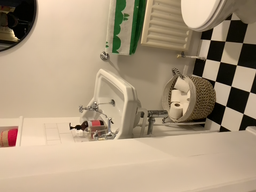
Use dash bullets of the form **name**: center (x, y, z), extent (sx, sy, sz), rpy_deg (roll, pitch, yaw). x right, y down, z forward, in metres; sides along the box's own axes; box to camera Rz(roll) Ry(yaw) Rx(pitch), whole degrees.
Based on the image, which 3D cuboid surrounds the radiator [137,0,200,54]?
- **radiator**: center (0.310, -0.560, 1.620), extent (0.070, 0.430, 0.420), rpy_deg (-139, 54, -58)

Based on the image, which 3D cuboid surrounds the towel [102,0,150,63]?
- **towel**: center (-0.010, -0.520, 1.480), extent (0.070, 0.280, 0.550), rpy_deg (-142, 56, -59)

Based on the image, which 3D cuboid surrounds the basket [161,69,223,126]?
- **basket**: center (0.500, 0.000, 1.720), extent (0.340, 0.270, 0.370), rpy_deg (-147, 61, -61)
